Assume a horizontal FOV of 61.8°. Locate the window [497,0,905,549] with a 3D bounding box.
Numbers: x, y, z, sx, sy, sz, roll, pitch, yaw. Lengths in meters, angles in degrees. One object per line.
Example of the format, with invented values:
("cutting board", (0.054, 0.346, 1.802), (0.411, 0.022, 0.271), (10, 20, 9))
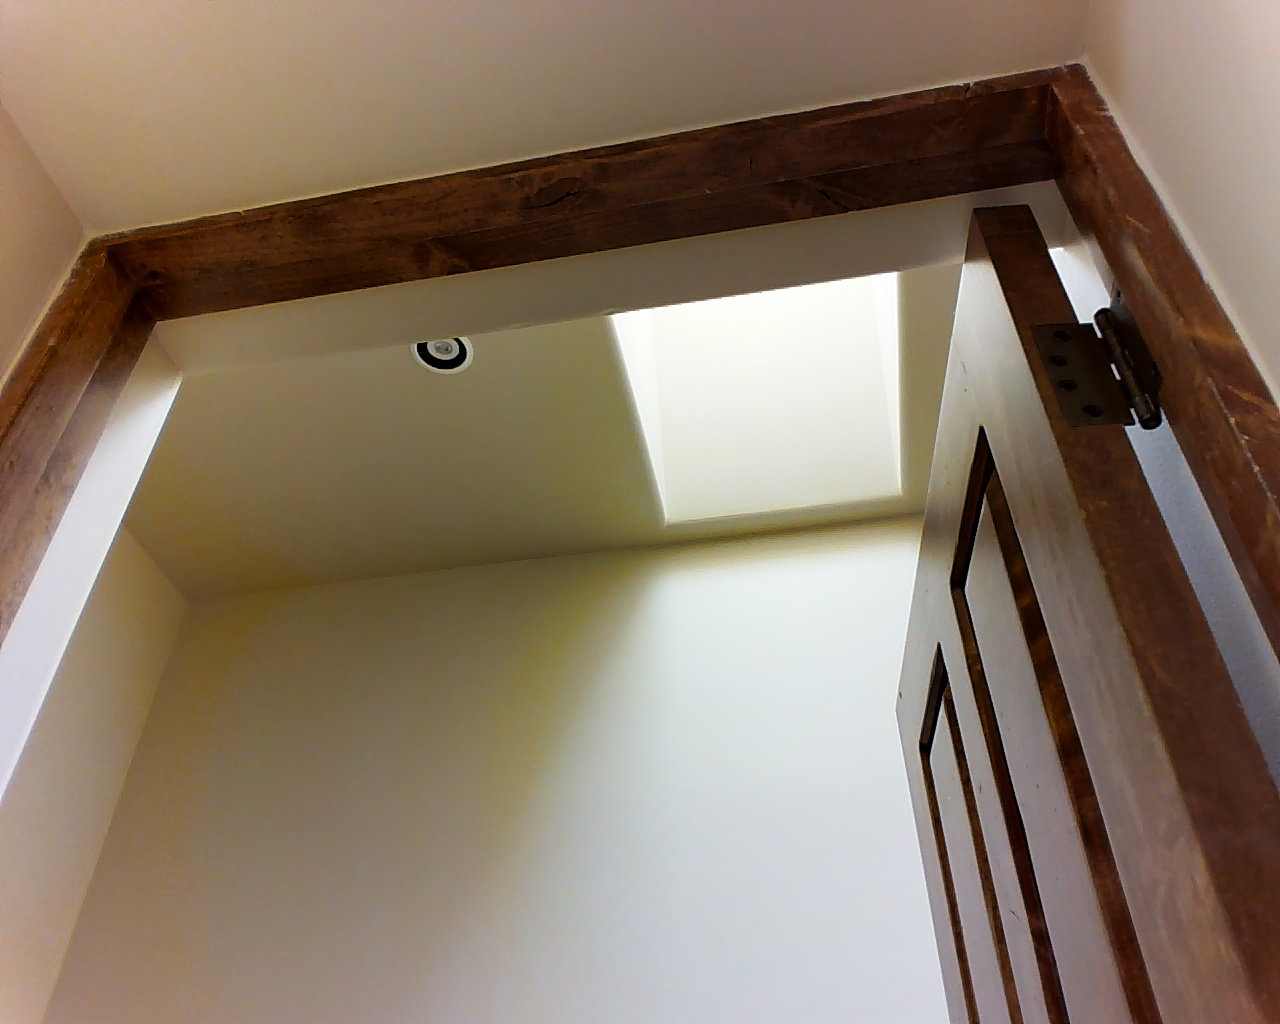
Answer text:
("window", (0.190, -0.500, 2.110), (0.570, 0.400, 1.220), (-8, -42, 8))
